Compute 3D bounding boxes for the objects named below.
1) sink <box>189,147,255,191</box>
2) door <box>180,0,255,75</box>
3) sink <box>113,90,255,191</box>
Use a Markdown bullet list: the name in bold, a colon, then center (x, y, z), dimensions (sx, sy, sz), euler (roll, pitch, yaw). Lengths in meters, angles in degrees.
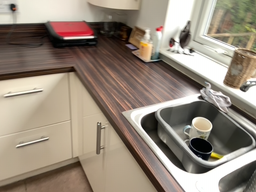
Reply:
- **sink**: center (0.380, 0.320, 0.690), dimensions (0.320, 0.150, 0.180), euler (-11, 36, -27)
- **door**: center (0.630, -0.680, 1.100), dimensions (0.160, 0.980, 0.550), euler (-12, 37, -29)
- **sink**: center (0.250, 0.180, 0.900), dimensions (0.500, 0.170, 0.380), euler (-11, 36, -27)
